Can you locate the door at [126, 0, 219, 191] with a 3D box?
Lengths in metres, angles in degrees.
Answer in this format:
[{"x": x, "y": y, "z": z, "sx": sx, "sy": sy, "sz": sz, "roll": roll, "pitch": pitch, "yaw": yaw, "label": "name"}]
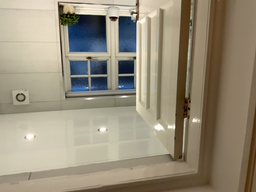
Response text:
[{"x": 0.140, "y": -0.780, "z": 1.080, "sx": 0.100, "sy": 2.210, "sz": 1.090, "roll": -1, "pitch": -168, "yaw": -10, "label": "door"}]
